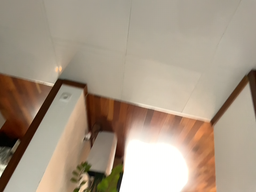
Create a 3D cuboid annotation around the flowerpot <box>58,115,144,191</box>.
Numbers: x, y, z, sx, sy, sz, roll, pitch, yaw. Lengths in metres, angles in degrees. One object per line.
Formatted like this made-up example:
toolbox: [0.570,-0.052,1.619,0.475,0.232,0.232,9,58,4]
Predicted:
flowerpot: [-0.250,0.980,2.550,0.640,0.920,1.150,11,142,6]
